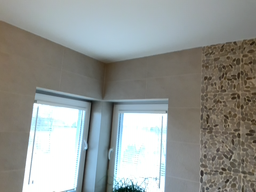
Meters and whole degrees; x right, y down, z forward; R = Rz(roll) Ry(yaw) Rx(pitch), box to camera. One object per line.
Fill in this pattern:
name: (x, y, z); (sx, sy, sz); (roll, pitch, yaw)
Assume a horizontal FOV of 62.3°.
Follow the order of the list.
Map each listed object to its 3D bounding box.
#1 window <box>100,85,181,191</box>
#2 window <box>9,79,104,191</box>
window: (0.100, 0.510, 2.250); (0.890, 1.190, 0.110); (-2, -11, 39)
window: (-0.670, 0.530, 2.200); (0.160, 1.240, 0.900); (-2, -10, 37)
